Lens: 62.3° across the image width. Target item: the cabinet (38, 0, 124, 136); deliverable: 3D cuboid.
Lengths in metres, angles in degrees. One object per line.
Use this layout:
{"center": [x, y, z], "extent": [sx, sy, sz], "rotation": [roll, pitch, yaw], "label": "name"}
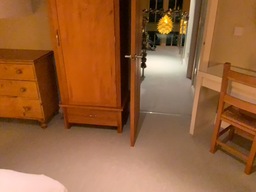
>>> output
{"center": [-0.440, -0.510, 2.320], "extent": [0.720, 1.880, 0.480], "rotation": [3, 25, 6], "label": "cabinet"}
